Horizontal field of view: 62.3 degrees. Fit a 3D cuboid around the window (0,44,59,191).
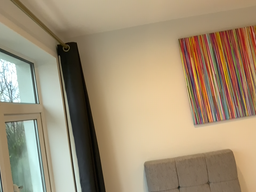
[{"bbox_3d":[-0.730,0.330,0.740,0.130,1.330,2.120,-9,-3,0],"label":"window"}]
